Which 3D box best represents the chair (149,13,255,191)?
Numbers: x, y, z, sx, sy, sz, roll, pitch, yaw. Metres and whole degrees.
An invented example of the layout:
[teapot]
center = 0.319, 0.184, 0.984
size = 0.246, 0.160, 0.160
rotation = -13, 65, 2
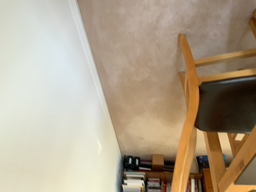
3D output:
[chair]
center = 0.450, 0.110, 1.010
size = 0.640, 1.040, 0.440
rotation = -5, 139, 10
